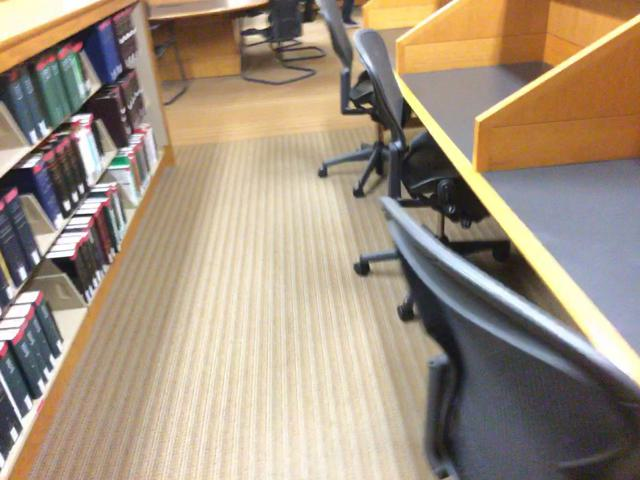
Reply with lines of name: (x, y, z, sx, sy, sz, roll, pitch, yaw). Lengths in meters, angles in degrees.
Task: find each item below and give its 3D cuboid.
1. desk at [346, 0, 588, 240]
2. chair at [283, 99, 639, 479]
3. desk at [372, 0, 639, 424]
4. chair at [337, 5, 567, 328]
desk: (0.650, -0.940, 3.100, 0.790, 1.250, 1.430, -8, 29, -2)
chair: (0.400, 0.390, 0.990, 0.690, 1.020, 0.610, -12, 30, -9)
desk: (0.700, -0.360, 2.090, 0.740, 1.240, 1.400, -8, 29, -2)
chair: (0.450, -0.280, 2.210, 0.660, 1.010, 0.640, -3, 29, 6)
